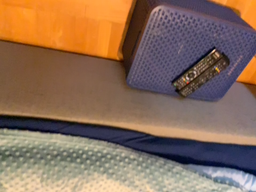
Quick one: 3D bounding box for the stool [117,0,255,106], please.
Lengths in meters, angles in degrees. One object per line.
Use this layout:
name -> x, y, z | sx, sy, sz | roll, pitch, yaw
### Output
stool -> 0.240, -0.200, 0.890 | 0.480, 0.250, 0.350 | 9, 131, -15
